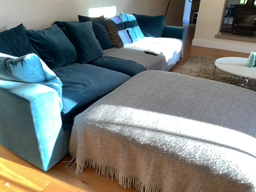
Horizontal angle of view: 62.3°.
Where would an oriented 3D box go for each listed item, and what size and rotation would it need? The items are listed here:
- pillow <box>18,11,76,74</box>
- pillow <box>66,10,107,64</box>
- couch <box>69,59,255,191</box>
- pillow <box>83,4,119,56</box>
[{"bbox_3d":[-0.830,-0.560,2.260,0.180,0.420,0.470,17,67,21],"label":"pillow"},{"bbox_3d":[-0.490,-0.740,2.650,0.120,0.440,0.490,17,56,25],"label":"pillow"},{"bbox_3d":[0.470,0.200,1.790,1.220,0.490,1.370,17,30,25],"label":"couch"},{"bbox_3d":[-0.370,-0.960,3.100,0.130,0.500,0.530,16,56,25],"label":"pillow"}]
